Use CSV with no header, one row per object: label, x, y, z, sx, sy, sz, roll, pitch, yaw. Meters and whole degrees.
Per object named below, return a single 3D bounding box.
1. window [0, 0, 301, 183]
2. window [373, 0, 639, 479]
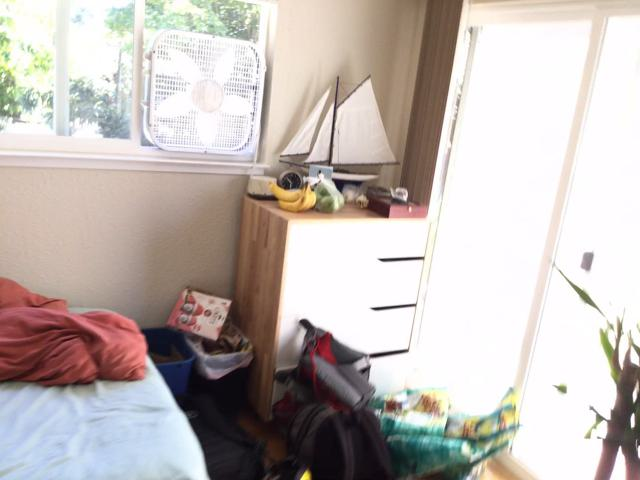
window,-1.060,-0.790,2.250,2.010,1.050,0.420,-3,14,-34
window,1.000,-0.090,2.150,0.450,2.010,1.650,-3,14,-34
